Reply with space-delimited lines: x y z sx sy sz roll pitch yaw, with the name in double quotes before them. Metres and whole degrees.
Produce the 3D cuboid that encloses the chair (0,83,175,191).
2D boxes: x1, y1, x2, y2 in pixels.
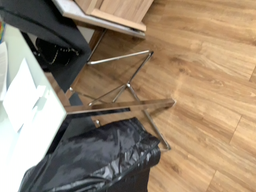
"chair" -0.280 0.300 1.200 0.470 0.880 0.570 -48 62 33
